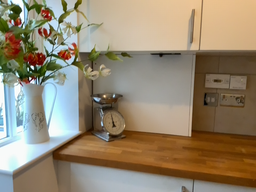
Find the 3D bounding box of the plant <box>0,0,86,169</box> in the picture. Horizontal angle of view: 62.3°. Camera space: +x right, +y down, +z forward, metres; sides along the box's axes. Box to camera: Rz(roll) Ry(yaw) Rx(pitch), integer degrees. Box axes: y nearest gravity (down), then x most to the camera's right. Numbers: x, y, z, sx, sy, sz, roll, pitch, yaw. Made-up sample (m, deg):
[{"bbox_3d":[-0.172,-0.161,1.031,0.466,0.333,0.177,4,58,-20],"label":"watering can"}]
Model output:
[{"bbox_3d":[-0.420,-0.090,1.020,0.260,0.690,0.430,4,8,15],"label":"plant"}]
